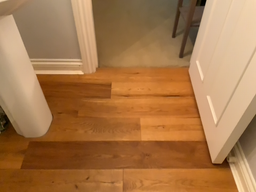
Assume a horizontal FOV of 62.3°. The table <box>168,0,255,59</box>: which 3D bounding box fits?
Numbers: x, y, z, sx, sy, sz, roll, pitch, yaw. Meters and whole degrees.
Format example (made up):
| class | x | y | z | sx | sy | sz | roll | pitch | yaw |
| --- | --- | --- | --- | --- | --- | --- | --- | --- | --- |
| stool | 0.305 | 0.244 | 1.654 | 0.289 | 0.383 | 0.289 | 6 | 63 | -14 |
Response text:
| class | x | y | z | sx | sy | sz | roll | pitch | yaw |
| --- | --- | --- | --- | --- | --- | --- | --- | --- | --- |
| table | 0.590 | -0.660 | 1.490 | 0.450 | 0.690 | 0.390 | -1 | 47 | -2 |
